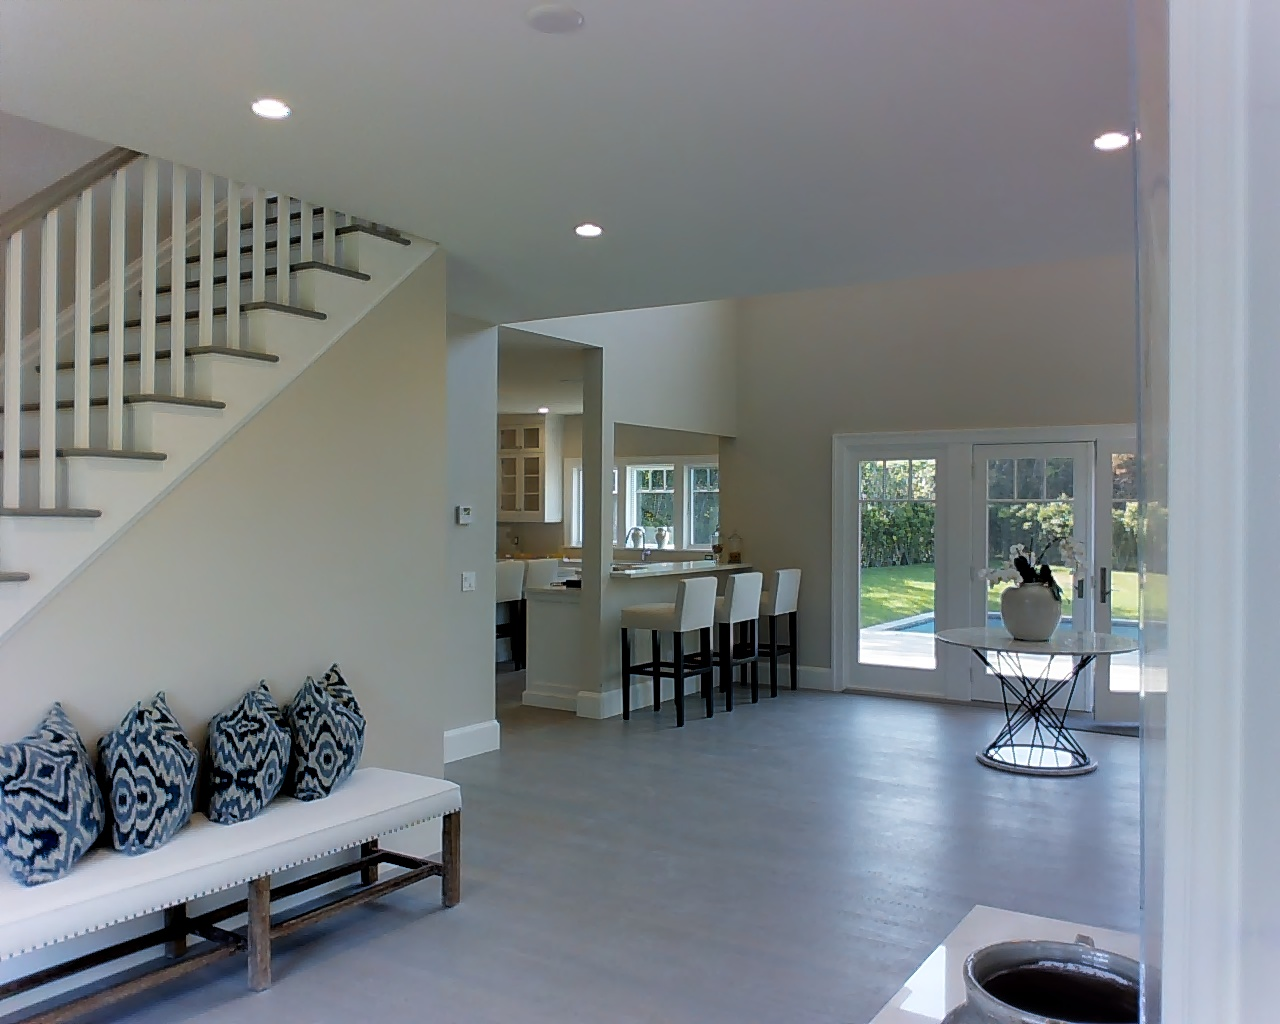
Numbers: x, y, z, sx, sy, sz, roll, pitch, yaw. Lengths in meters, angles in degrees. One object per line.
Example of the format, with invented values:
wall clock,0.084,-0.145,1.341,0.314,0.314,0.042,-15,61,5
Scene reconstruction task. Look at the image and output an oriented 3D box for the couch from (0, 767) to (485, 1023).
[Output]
couch,-1.400,1.300,3.490,0.550,0.490,2.020,0,0,34
